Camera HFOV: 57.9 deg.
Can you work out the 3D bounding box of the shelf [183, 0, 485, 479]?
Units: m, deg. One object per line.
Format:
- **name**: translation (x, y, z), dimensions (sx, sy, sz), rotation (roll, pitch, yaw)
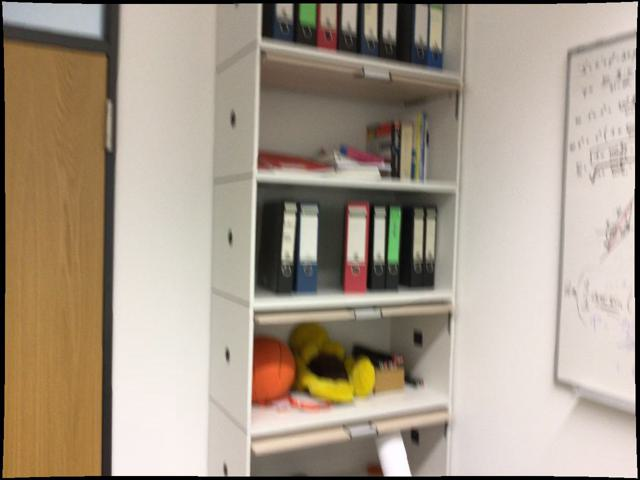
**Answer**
- **shelf**: translation (0.040, 0.180, 2.080), dimensions (0.909, 2.503, 0.520), rotation (-2, 5, -25)
